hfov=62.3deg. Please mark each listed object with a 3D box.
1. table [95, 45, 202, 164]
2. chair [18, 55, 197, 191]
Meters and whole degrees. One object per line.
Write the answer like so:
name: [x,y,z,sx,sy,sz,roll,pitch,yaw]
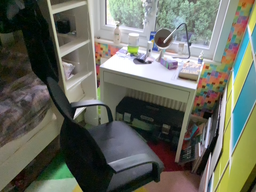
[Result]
table: [0.180,0.040,1.960,0.740,0.740,0.590,15,35,17]
chair: [-0.130,0.340,1.280,0.650,0.900,0.600,-20,40,-31]
